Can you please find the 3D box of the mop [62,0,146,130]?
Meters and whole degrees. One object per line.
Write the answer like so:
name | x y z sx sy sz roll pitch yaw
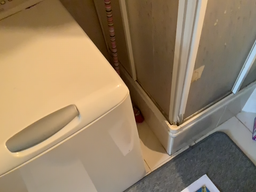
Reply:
mop | -0.090 -0.170 1.080 0.180 0.810 0.340 -27 58 -10
